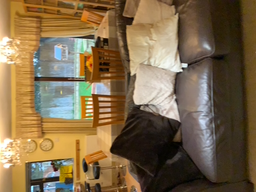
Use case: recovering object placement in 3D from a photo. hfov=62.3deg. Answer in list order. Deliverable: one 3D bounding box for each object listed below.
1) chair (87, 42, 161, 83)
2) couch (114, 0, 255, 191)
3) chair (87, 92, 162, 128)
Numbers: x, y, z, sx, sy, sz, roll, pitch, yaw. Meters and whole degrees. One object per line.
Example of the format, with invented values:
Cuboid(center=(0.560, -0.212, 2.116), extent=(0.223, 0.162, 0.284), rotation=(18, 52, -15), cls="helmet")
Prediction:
Cuboid(center=(-0.080, -0.450, 3.070), extent=(0.530, 0.950, 0.460), rotation=(176, 93, -71), cls="chair")
Cuboid(center=(0.410, -0.250, 1.870), extent=(0.990, 0.810, 2.160), rotation=(173, 96, -71), cls="couch")
Cuboid(center=(-0.070, 0.180, 3.050), extent=(0.550, 0.960, 0.440), rotation=(176, 93, -71), cls="chair")
